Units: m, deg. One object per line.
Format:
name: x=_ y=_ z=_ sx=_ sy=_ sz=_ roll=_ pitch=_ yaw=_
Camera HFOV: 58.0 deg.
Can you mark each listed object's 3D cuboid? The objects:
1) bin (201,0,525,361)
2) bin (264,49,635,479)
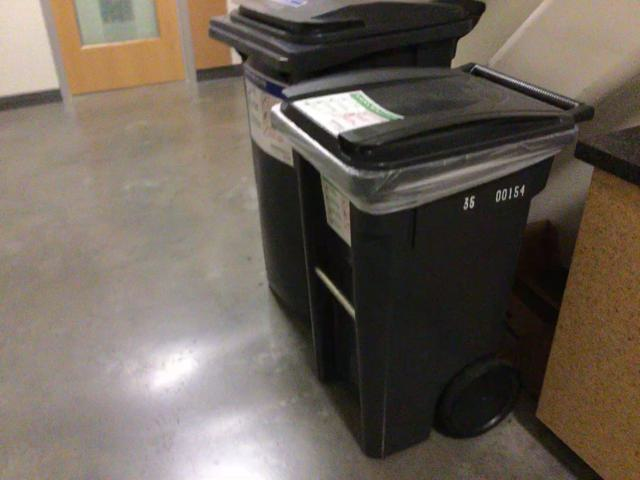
bin: x=0.100 y=-0.270 z=1.960 sx=0.770 sy=1.050 sz=0.560 roll=-14 pitch=34 yaw=-21
bin: x=0.260 y=0.060 z=1.520 sx=0.640 sy=0.930 sz=0.490 roll=-14 pitch=34 yaw=-21
